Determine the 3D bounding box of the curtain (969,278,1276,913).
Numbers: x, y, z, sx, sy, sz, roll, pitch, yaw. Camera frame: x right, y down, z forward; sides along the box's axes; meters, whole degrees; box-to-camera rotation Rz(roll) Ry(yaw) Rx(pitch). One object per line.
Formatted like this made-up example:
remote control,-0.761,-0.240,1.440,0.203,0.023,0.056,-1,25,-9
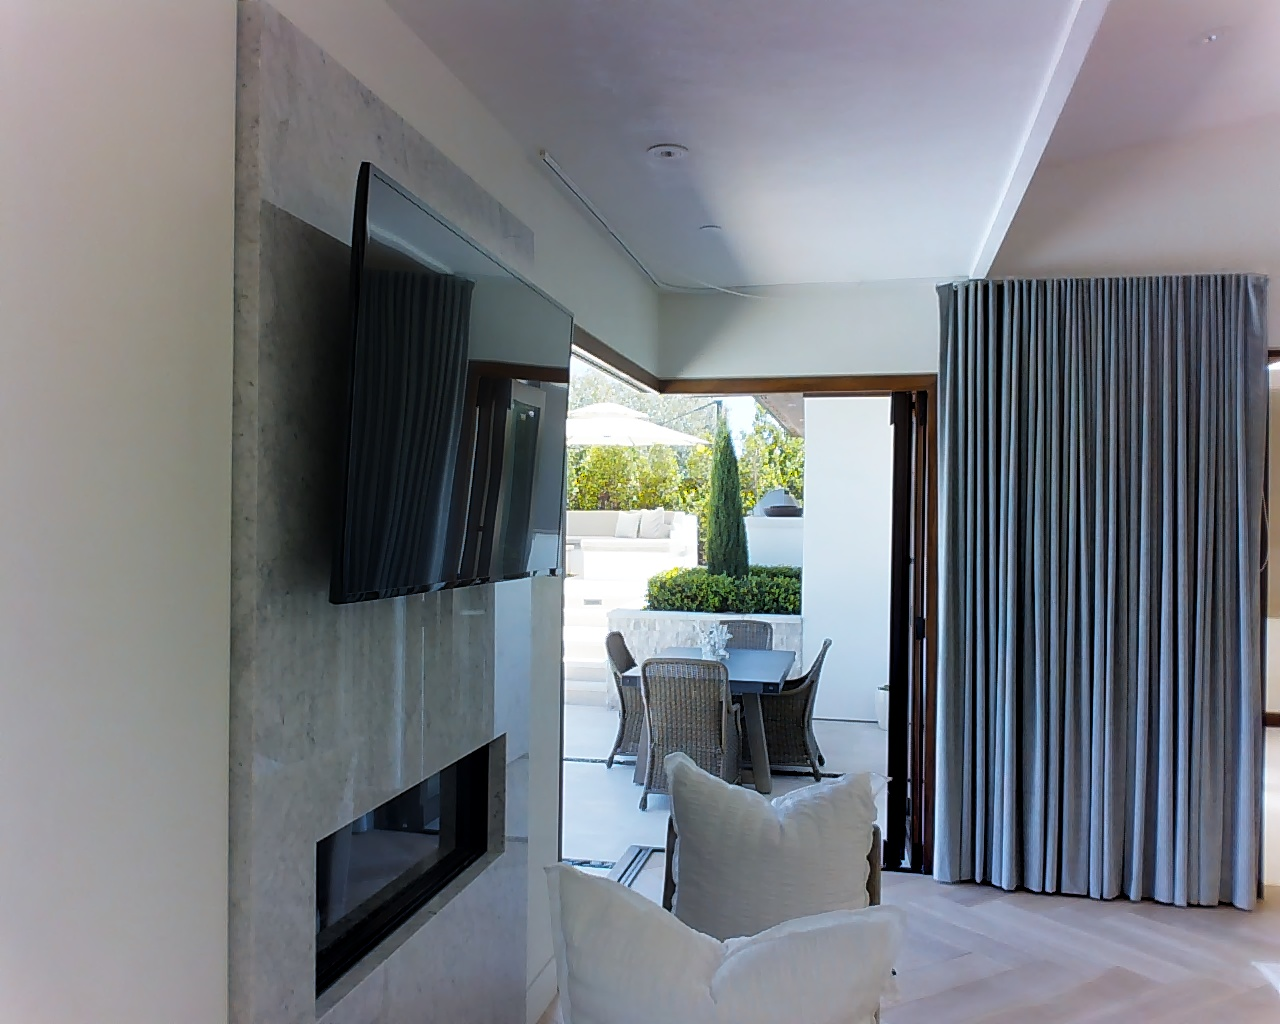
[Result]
curtain,2.130,0.350,4.810,1.230,2.720,0.150,0,0,12
